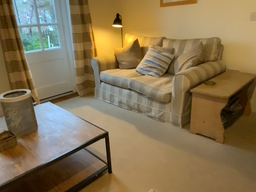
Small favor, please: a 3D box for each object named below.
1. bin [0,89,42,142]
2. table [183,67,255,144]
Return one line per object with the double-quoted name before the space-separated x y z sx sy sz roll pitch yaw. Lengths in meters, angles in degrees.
"bin" -0.880 0.140 1.690 0.230 0.300 0.270 -21 28 -41
"table" 1.060 0.040 2.400 0.370 0.510 1.010 16 27 40
